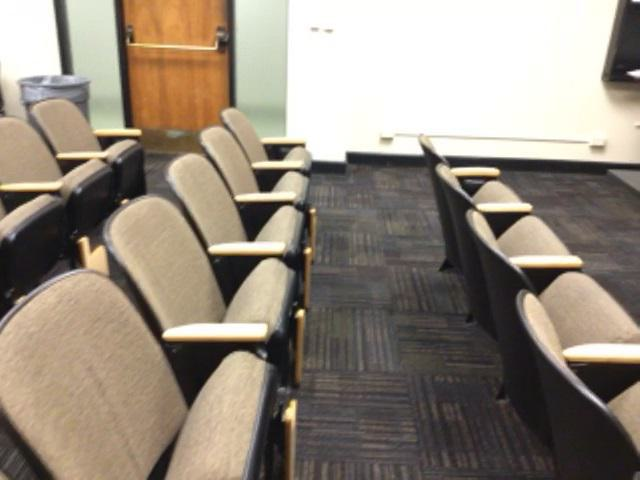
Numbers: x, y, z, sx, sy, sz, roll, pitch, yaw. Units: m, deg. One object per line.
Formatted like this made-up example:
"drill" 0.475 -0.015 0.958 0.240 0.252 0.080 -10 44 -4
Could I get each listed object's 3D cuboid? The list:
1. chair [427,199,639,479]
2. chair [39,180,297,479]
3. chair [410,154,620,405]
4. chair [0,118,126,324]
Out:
"chair" 0.650 0.320 1.690 0.500 0.730 0.570 0 23 -2
"chair" -0.360 0.280 1.730 0.560 0.770 0.590 1 23 0
"chair" 0.660 0.120 2.180 0.490 0.750 0.600 0 23 -2
"chair" -1.190 -0.090 2.560 0.440 0.810 0.420 0 23 -2
